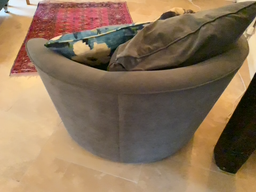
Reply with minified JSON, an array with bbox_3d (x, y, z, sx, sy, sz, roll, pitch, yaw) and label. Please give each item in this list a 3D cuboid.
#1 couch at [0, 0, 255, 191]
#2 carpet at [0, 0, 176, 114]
[{"bbox_3d":[-0.050,-0.120,1.270,1.060,0.730,1.050,-19,49,-23],"label":"couch"},{"bbox_3d":[-0.580,-0.640,2.270,1.510,0.060,1.950,-8,45,-13],"label":"carpet"}]
